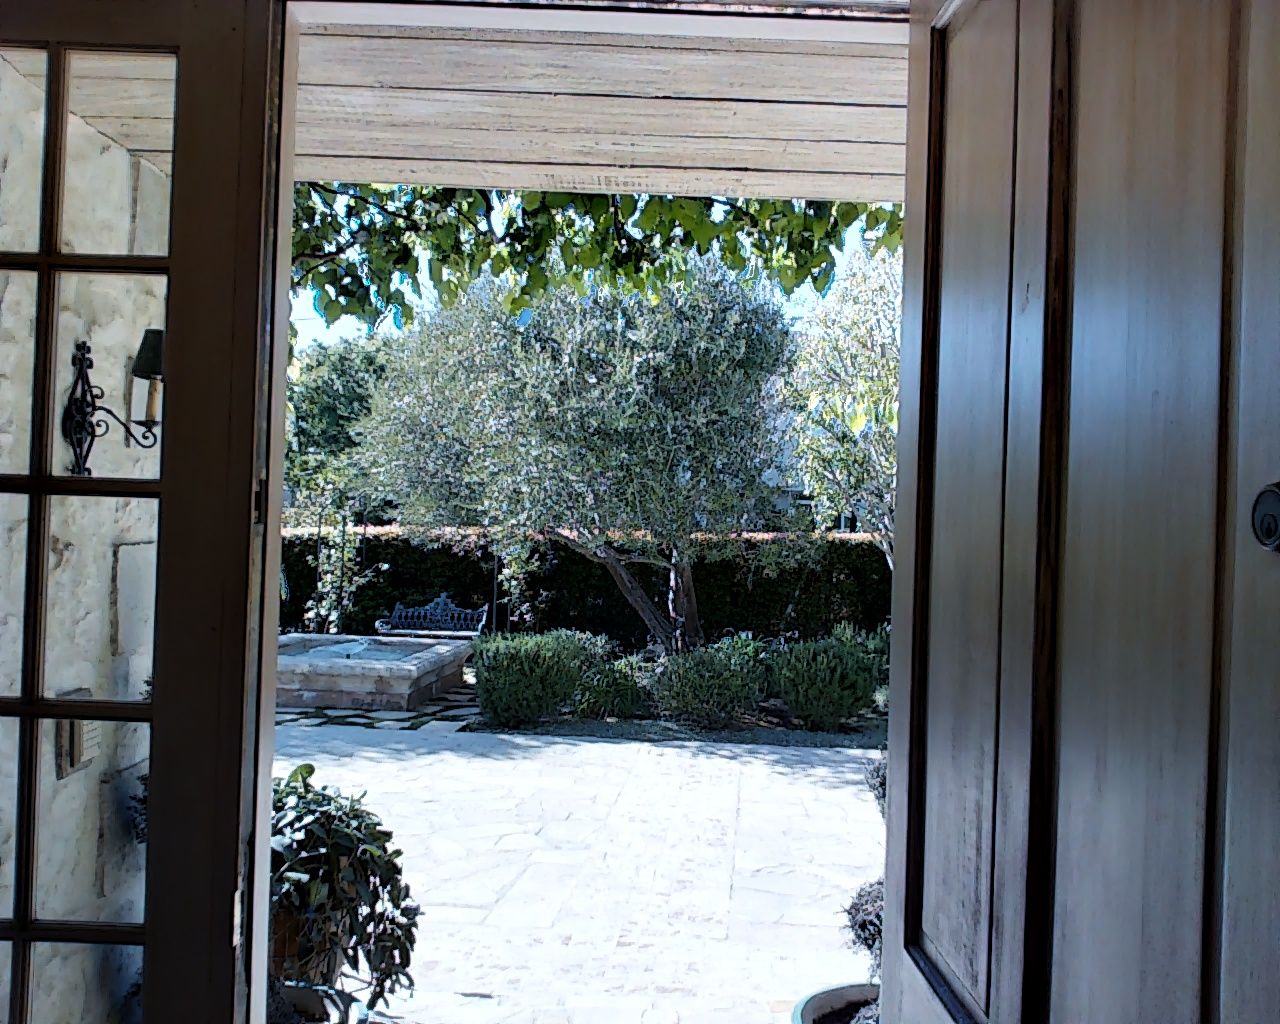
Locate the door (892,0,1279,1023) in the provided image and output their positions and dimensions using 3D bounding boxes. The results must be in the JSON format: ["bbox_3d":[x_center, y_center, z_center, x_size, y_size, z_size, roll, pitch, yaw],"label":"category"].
[{"bbox_3d":[0.440,0.400,1.130,0.080,2.471,1.010,2,-1,-1],"label":"door"}]
